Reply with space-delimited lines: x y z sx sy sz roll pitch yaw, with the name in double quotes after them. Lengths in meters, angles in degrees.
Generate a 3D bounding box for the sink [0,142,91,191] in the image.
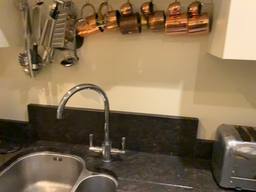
-0.410 0.430 0.940 0.370 0.230 0.430 4 16 8 "sink"
